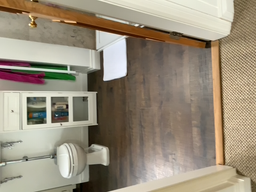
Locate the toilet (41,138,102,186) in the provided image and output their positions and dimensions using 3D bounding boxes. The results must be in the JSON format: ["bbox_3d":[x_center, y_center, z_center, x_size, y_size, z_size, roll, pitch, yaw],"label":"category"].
[{"bbox_3d":[-0.690,0.730,2.510,0.690,0.490,0.380,-10,81,56],"label":"toilet"}]
